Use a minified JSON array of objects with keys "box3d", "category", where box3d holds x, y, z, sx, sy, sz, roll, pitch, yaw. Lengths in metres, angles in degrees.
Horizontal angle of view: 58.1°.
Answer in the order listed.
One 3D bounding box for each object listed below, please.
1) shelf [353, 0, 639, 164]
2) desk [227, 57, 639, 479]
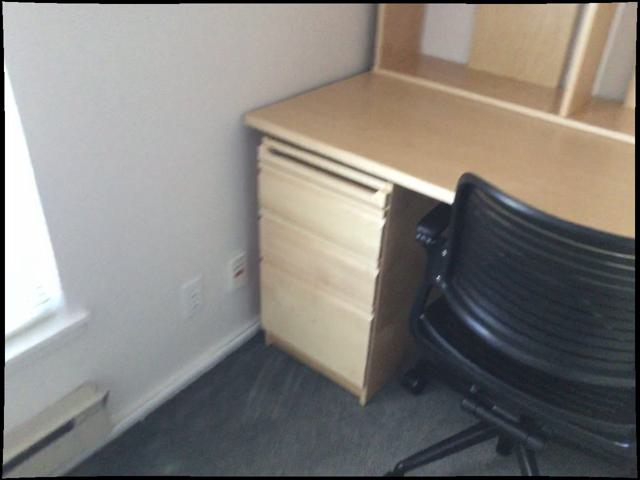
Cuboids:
[{"box3d":[0.728,-0.702,1.480,1.278,0.832,0.360,24,38,32],"category":"shelf"},{"box3d":[0.499,0.080,1.650,1.278,0.822,0.810,24,38,32],"category":"desk"}]
